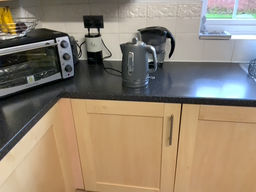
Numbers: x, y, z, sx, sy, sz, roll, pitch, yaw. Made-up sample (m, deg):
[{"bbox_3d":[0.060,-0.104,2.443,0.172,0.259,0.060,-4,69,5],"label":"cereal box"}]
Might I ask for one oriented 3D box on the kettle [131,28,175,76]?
[{"bbox_3d":[0.170,-0.310,1.460,0.270,0.280,0.190,3,27,7],"label":"kettle"}]
